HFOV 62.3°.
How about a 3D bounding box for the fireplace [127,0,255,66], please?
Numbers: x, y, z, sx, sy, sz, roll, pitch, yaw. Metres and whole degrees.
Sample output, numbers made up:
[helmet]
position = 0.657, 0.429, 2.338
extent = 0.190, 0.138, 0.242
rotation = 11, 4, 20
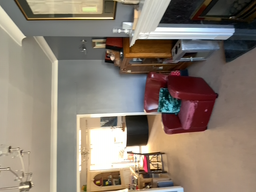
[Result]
[fireplace]
position = 0.680, -0.760, 1.900
extent = 1.410, 1.180, 0.560
rotation = 128, 140, -78

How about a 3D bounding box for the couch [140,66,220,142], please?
[couch]
position = 0.700, 0.090, 3.240
extent = 0.860, 0.810, 0.760
rotation = -102, 13, -53
